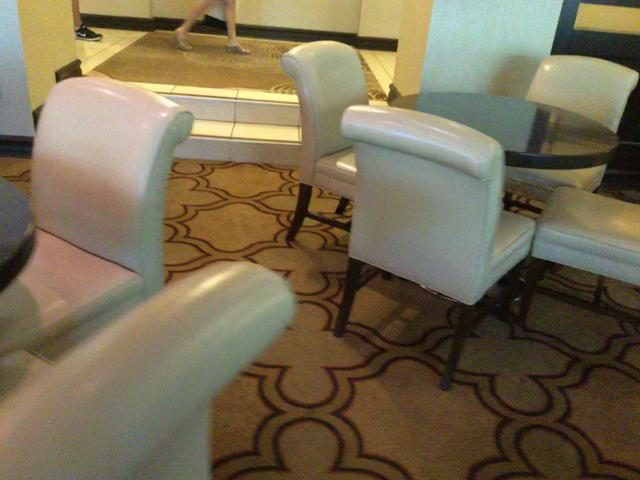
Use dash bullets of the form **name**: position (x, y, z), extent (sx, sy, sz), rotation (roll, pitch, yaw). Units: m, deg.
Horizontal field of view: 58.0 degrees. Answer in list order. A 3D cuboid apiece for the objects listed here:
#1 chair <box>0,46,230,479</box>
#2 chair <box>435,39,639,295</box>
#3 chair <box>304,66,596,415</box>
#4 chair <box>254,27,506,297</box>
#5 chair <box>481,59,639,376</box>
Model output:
- **chair**: position (-0.750, 0.050, 1.580), extent (0.610, 0.940, 0.840), rotation (18, 30, 22)
- **chair**: position (1.180, -0.430, 2.900), extent (0.660, 0.950, 0.920), rotation (26, 34, 33)
- **chair**: position (0.450, -0.070, 2.050), extent (0.560, 0.880, 0.830), rotation (23, 32, 30)
- **chair**: position (0.230, -0.410, 2.660), extent (0.850, 0.930, 0.600), rotation (23, 32, 30)
- **chair**: position (1.240, -0.100, 2.210), extent (0.840, 0.940, 0.680), rotation (22, 32, 29)
